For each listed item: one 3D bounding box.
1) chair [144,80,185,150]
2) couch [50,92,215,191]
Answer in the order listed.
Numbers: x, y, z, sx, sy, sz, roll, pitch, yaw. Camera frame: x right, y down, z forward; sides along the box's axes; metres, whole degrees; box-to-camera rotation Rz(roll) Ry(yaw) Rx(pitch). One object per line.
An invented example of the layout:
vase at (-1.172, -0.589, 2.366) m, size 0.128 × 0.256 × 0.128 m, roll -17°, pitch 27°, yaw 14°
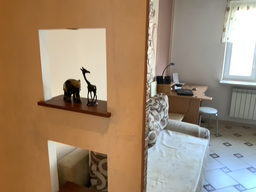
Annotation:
chair at (0.580, 0.280, 3.400) m, size 0.490 × 0.990 × 0.410 m, roll 8°, pitch 16°, yaw 24°
couch at (0.300, 0.610, 2.290) m, size 0.970 × 0.830 × 1.990 m, roll 8°, pitch 16°, yaw 24°
